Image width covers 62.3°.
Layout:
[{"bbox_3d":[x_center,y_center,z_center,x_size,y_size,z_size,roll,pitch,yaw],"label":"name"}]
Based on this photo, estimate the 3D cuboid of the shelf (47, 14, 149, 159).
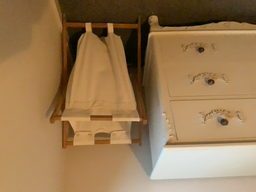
[{"bbox_3d":[-0.150,-0.050,1.270,0.420,0.710,0.480,0,148,-4],"label":"shelf"}]
